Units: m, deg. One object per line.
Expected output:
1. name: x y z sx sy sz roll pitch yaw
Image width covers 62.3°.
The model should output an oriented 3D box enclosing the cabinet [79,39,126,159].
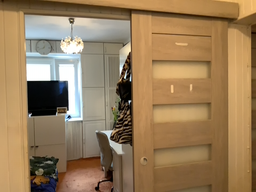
1. cabinet: -0.590 0.060 4.900 0.980 2.580 0.420 -1 2 -16
